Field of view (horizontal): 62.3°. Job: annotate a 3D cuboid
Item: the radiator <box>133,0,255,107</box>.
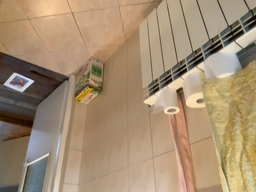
[{"bbox_3d":[0.350,-0.440,0.990,0.190,0.730,0.740,23,140,-33],"label":"radiator"}]
